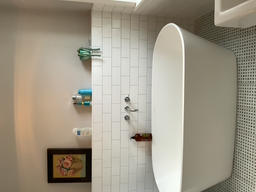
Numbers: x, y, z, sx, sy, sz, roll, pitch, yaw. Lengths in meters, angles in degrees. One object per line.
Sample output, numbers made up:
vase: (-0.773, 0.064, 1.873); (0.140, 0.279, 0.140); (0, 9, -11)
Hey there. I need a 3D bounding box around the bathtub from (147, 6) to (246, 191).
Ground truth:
bathtub: (0.580, 0.160, 2.070); (0.770, 0.540, 1.720); (-164, 74, -75)
